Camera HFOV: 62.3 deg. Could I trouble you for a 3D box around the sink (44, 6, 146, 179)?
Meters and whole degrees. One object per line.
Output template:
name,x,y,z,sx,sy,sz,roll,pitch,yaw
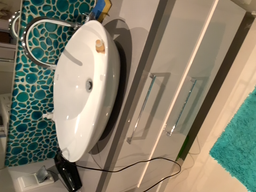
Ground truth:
sink,-0.190,-0.020,0.920,0.380,0.130,0.610,39,119,42
